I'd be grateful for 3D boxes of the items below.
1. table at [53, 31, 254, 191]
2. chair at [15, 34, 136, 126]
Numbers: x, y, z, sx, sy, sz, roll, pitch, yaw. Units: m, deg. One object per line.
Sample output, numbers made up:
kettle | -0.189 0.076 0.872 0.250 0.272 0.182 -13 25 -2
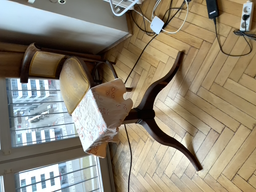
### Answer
table | 0.100 0.190 1.320 0.740 0.700 0.720 -51 57 34
chair | -0.440 -0.120 1.820 0.460 0.780 0.490 -51 57 34
